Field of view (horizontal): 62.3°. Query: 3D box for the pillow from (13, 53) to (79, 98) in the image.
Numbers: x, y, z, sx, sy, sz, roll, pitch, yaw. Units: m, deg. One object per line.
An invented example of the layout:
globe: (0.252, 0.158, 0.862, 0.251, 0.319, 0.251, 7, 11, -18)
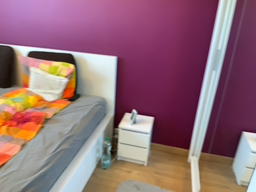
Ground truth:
pillow: (-0.820, -0.220, 2.170, 0.580, 0.330, 0.240, 9, 22, 12)
